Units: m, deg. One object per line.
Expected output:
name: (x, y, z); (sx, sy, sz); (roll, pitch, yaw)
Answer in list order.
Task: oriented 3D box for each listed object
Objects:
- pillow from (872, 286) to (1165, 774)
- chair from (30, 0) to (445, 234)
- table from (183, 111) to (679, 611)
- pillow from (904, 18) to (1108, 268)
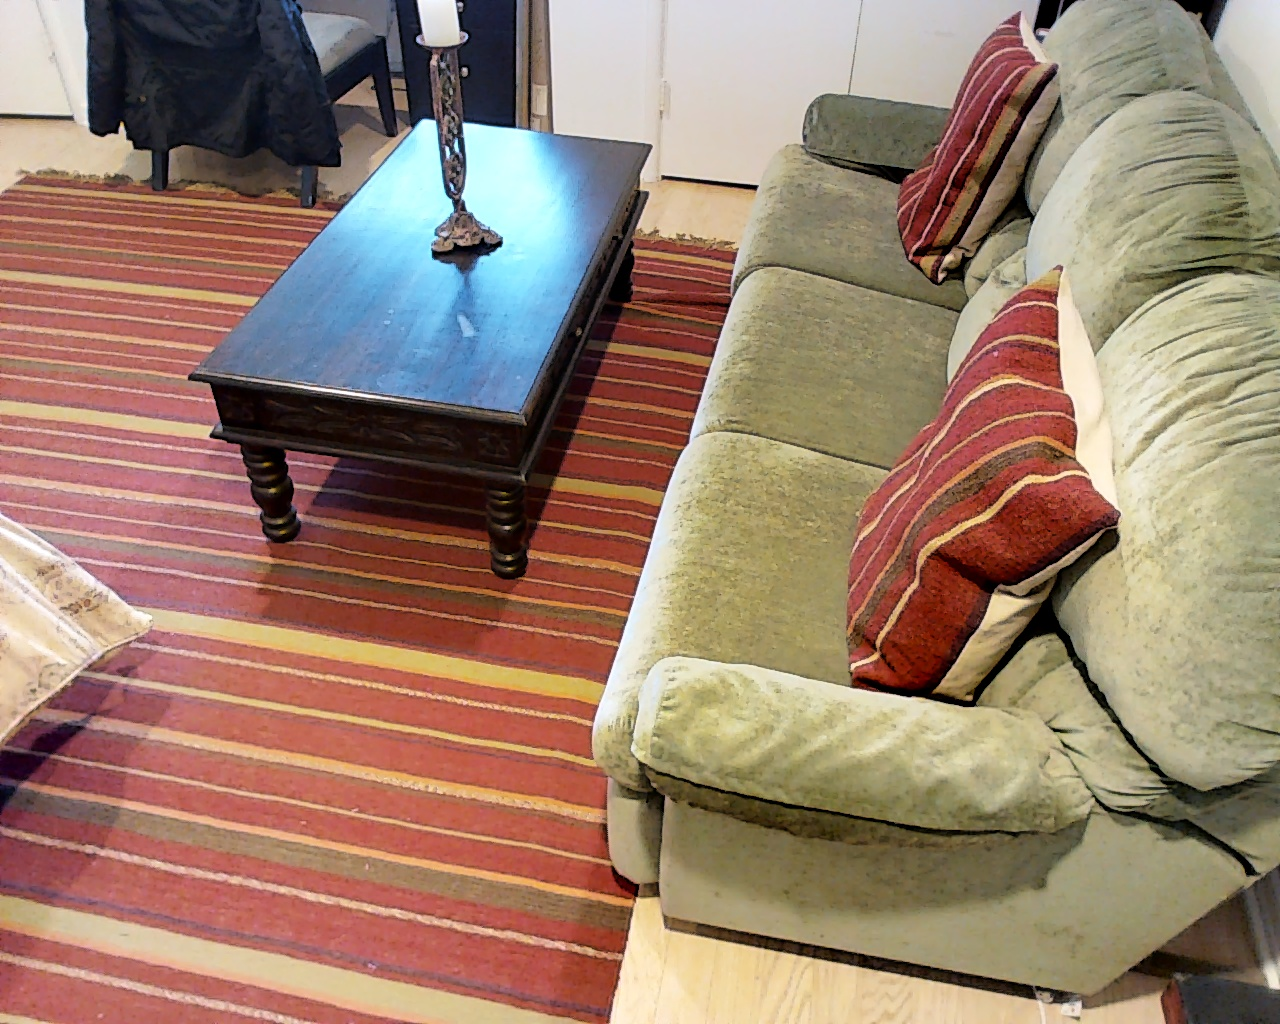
pillow: (0.490, -0.010, 1.530); (0.220, 0.490, 0.540); (10, 24, 8)
chair: (-1.290, -1.590, 3.670); (0.910, 0.830, 0.970); (6, 42, 6)
table: (-0.380, -0.470, 2.660); (0.740, 0.460, 1.410); (7, 42, 7)
pillow: (0.820, -0.880, 2.510); (0.240, 0.450, 0.590); (7, 28, 2)
